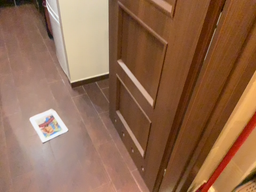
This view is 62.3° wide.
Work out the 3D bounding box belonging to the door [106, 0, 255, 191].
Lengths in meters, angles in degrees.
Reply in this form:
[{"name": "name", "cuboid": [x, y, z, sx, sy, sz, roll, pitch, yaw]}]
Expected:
[{"name": "door", "cuboid": [0.100, -0.270, 0.910, 0.040, 2.110, 0.820, -19, 48, -24]}]
